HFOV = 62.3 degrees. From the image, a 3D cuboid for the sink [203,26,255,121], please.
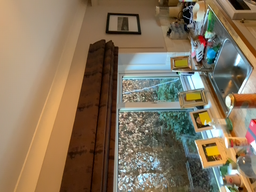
[{"bbox_3d":[0.880,-0.180,1.690,0.530,0.270,0.540,-92,2,-45],"label":"sink"}]
